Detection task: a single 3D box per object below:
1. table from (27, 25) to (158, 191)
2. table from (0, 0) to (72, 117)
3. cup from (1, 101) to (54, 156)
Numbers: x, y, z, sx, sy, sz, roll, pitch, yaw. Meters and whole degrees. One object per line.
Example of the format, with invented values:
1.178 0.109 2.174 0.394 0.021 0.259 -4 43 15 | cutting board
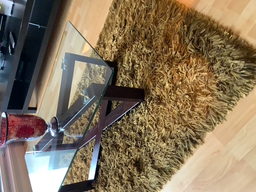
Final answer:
-0.280 0.150 1.230 0.480 0.290 0.910 50 123 39 | table
-1.020 -0.540 2.160 0.610 0.340 1.470 51 123 39 | table
-0.490 0.150 1.020 0.190 0.170 0.160 48 122 40 | cup
